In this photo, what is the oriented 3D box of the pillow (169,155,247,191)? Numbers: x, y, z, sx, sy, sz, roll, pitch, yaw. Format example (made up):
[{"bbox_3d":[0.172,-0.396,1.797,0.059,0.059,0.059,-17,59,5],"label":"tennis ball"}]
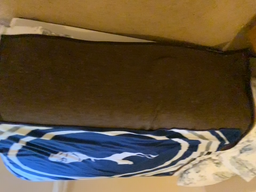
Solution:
[{"bbox_3d":[0.740,0.780,2.070,0.600,0.430,0.150,123,-16,-57],"label":"pillow"}]
